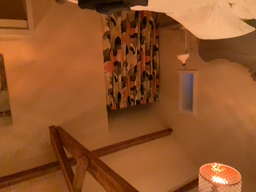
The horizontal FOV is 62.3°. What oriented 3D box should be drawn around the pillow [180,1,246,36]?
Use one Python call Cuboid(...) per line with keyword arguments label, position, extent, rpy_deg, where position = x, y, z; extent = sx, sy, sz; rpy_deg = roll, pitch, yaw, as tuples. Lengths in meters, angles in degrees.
Cuboid(label="pillow", position=(0.910, -0.820, 2.330), extent=(0.390, 0.260, 0.540), rpy_deg=(-9, -167, -34))
